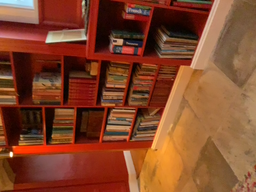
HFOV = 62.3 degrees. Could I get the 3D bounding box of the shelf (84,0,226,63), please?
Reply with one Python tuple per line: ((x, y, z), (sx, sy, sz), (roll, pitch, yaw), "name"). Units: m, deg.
((0.270, -1.120, 1.670), (0.540, 1.070, 1.550), (-110, 27, -51), "shelf")
